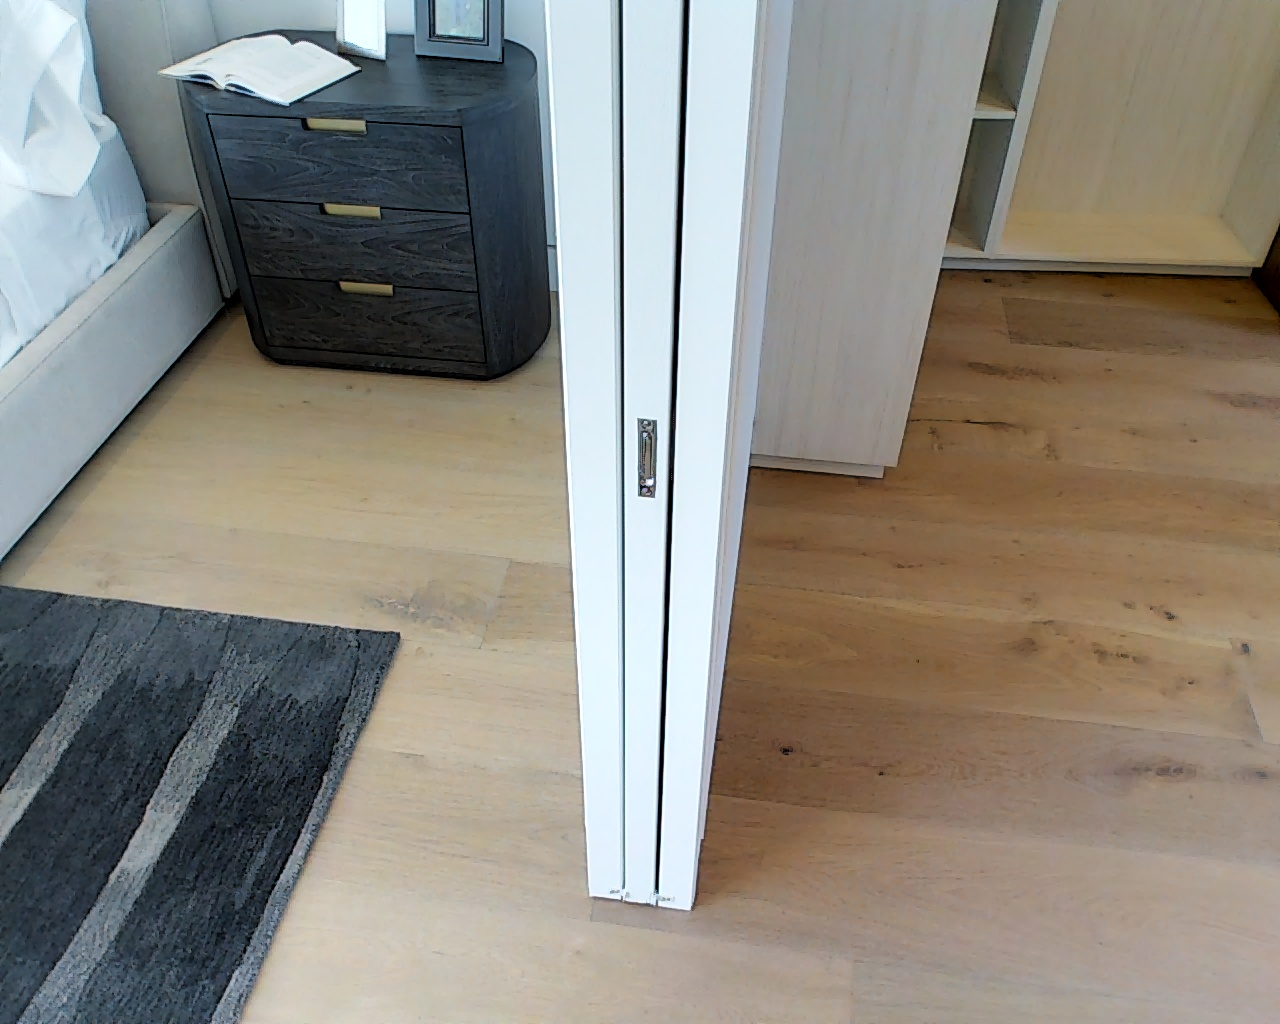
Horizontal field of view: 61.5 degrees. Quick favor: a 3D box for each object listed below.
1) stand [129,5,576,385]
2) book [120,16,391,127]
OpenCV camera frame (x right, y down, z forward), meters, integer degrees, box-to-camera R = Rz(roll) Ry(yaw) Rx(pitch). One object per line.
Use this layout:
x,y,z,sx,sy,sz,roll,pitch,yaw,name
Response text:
-0.650,-0.800,2.720,0.870,0.730,0.490,6,42,6,stand
-0.860,-1.010,2.450,0.480,0.110,0.330,6,42,6,book
